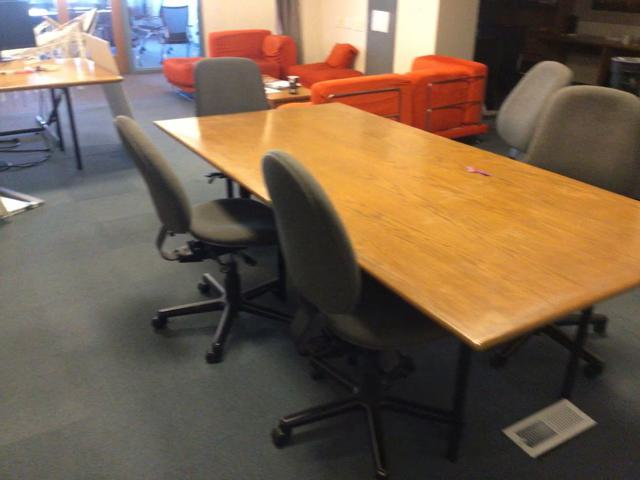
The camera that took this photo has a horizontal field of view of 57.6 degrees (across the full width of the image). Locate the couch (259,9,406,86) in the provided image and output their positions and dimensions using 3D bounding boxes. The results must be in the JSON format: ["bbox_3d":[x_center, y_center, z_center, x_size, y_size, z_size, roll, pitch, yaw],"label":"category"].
[{"bbox_3d":[0.130,-2.410,7.190,1.550,0.660,0.950,-10,30,-17],"label":"couch"}]
